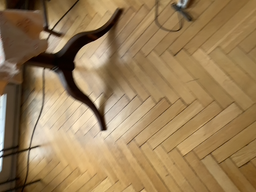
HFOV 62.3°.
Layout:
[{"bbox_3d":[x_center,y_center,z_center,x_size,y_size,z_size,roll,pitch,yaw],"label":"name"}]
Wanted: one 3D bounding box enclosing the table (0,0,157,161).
[{"bbox_3d":[-0.410,-0.120,1.220,0.740,0.700,0.720,-25,77,27],"label":"table"}]
